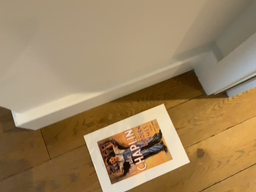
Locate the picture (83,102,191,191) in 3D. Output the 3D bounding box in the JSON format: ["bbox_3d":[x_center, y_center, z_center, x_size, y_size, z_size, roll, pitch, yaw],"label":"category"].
[{"bbox_3d":[0.030,0.170,0.700,0.300,0.001,0.210,-22,80,-8],"label":"picture"}]
